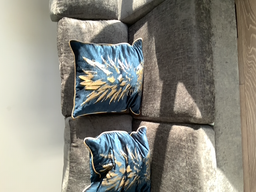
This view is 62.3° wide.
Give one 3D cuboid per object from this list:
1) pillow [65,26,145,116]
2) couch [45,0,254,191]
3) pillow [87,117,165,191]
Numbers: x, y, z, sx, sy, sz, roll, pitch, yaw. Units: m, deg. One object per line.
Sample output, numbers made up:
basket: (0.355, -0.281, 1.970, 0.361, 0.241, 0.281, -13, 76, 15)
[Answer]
pillow: (-0.150, -0.140, 1.330, 0.220, 0.430, 0.490, 172, 96, -69)
couch: (0.040, -0.090, 1.350, 0.990, 0.800, 2.160, -5, 87, 55)
pillow: (-0.020, 0.380, 1.310, 0.320, 0.330, 0.470, -7, 86, 55)
